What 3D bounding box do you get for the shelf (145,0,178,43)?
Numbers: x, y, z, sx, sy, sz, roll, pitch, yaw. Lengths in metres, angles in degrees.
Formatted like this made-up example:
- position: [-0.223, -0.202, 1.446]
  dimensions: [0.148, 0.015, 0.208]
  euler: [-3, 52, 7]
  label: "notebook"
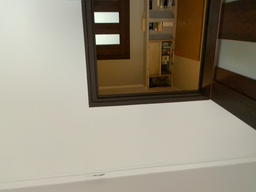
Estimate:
- position: [0.550, -1.390, 3.510]
  dimensions: [0.500, 0.980, 0.120]
  euler: [-2, -162, -5]
  label: "shelf"
